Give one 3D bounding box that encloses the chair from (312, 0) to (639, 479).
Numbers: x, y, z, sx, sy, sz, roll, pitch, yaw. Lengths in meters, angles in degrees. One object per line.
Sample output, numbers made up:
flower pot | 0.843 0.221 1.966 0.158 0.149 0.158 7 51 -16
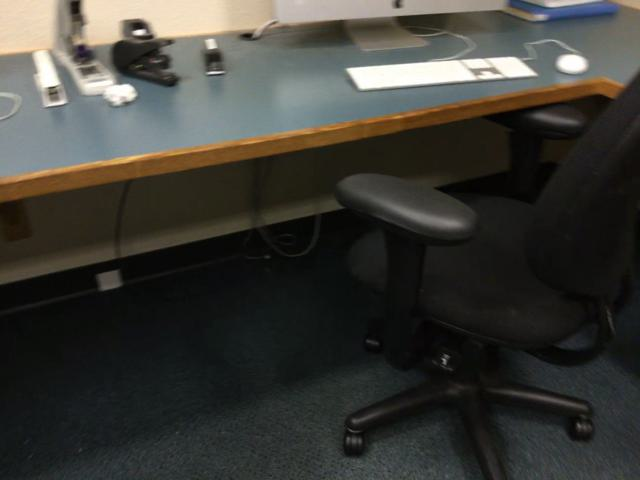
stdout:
chair | 0.370 0.010 1.200 0.550 1.010 0.570 -17 33 -29
